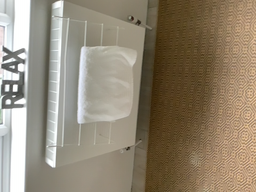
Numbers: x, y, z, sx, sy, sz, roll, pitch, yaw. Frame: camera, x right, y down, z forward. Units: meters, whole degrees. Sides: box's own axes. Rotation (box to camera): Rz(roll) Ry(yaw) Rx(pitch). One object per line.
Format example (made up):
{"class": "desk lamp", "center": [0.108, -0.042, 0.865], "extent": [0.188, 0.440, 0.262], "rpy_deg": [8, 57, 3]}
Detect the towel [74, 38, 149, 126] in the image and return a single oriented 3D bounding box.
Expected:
{"class": "towel", "center": [-0.070, -0.070, 1.120], "extent": [0.110, 0.400, 0.390], "rpy_deg": [9, 97, 43]}
